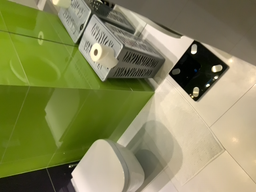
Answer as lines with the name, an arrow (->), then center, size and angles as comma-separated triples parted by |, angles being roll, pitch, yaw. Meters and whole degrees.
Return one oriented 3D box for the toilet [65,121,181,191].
toilet -> -0.050, 0.520, 1.480 | 0.540, 0.480, 0.400 | -53, 56, 29
